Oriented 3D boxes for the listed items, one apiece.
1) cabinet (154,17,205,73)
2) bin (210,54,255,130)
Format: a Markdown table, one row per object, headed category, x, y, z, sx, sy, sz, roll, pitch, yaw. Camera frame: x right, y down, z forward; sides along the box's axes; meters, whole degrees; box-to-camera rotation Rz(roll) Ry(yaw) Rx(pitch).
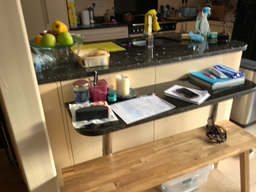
| category | x | y | z | sx | sy | sz | roll | pitch | yaw |
| --- | --- | --- | --- | --- | --- | --- | --- | --- | --- |
| cabinet | 0.980 | -1.030 | 4.180 | 0.690 | 0.910 | 0.610 | -12 | 27 | -21 |
| bin | 1.220 | -0.060 | 2.320 | 0.280 | 0.670 | 0.460 | -13 | 27 | -24 |
